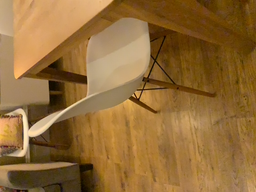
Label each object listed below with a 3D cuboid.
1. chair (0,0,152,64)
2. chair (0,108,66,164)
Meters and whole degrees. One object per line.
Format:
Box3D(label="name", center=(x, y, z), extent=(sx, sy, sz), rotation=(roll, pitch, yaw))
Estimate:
Box3D(label="chair", center=(-0.360, -0.540, 1.300), extent=(0.510, 0.840, 0.450), rotation=(-20, 75, 46))
Box3D(label="chair", center=(-1.140, 0.390, 2.180), extent=(0.560, 0.770, 0.460), rotation=(-12, 81, 47))
